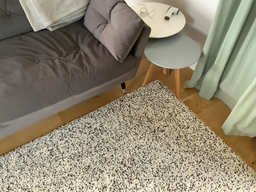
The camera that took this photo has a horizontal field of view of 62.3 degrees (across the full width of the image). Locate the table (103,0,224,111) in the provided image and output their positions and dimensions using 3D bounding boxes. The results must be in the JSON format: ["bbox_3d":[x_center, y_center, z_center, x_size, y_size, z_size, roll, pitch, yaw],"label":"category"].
[{"bbox_3d":[0.230,-0.390,1.760,0.530,0.430,0.790,-25,55,-21],"label":"table"}]
